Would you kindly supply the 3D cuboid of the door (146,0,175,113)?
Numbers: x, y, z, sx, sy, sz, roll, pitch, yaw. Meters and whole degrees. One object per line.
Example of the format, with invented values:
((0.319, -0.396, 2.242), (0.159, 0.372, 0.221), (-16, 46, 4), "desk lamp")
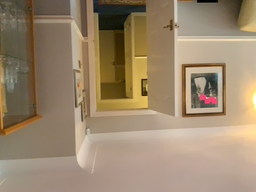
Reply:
((0.360, -0.870, 2.520), (0.050, 2.050, 0.720), (-3, -176, -13), "door")

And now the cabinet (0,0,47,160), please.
((-0.990, -0.670, 1.530), (0.460, 2.080, 0.710), (-2, -176, -5), "cabinet")
